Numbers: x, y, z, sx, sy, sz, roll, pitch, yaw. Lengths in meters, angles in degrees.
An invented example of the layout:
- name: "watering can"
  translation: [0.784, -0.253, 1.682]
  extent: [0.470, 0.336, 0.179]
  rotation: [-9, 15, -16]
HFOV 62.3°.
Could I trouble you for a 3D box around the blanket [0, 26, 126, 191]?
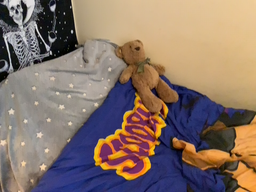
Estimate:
- name: "blanket"
  translation: [-0.400, -0.050, 1.180]
  extent: [0.430, 0.300, 0.980]
  rotation: [15, 40, 16]
